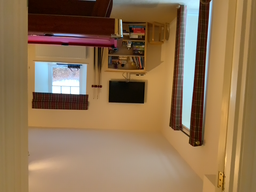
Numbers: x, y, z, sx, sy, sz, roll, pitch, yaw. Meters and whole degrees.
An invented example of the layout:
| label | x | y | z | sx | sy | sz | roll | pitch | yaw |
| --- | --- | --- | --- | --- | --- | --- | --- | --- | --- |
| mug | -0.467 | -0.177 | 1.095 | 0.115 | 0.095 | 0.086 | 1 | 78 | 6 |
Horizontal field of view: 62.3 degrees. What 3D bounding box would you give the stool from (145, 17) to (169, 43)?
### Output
| label | x | y | z | sx | sy | sz | roll | pitch | yaw |
| --- | --- | --- | --- | --- | --- | --- | --- | --- | --- |
| stool | 0.650 | -1.480 | 4.800 | 0.440 | 0.450 | 0.440 | 2 | -174 | -5 |
